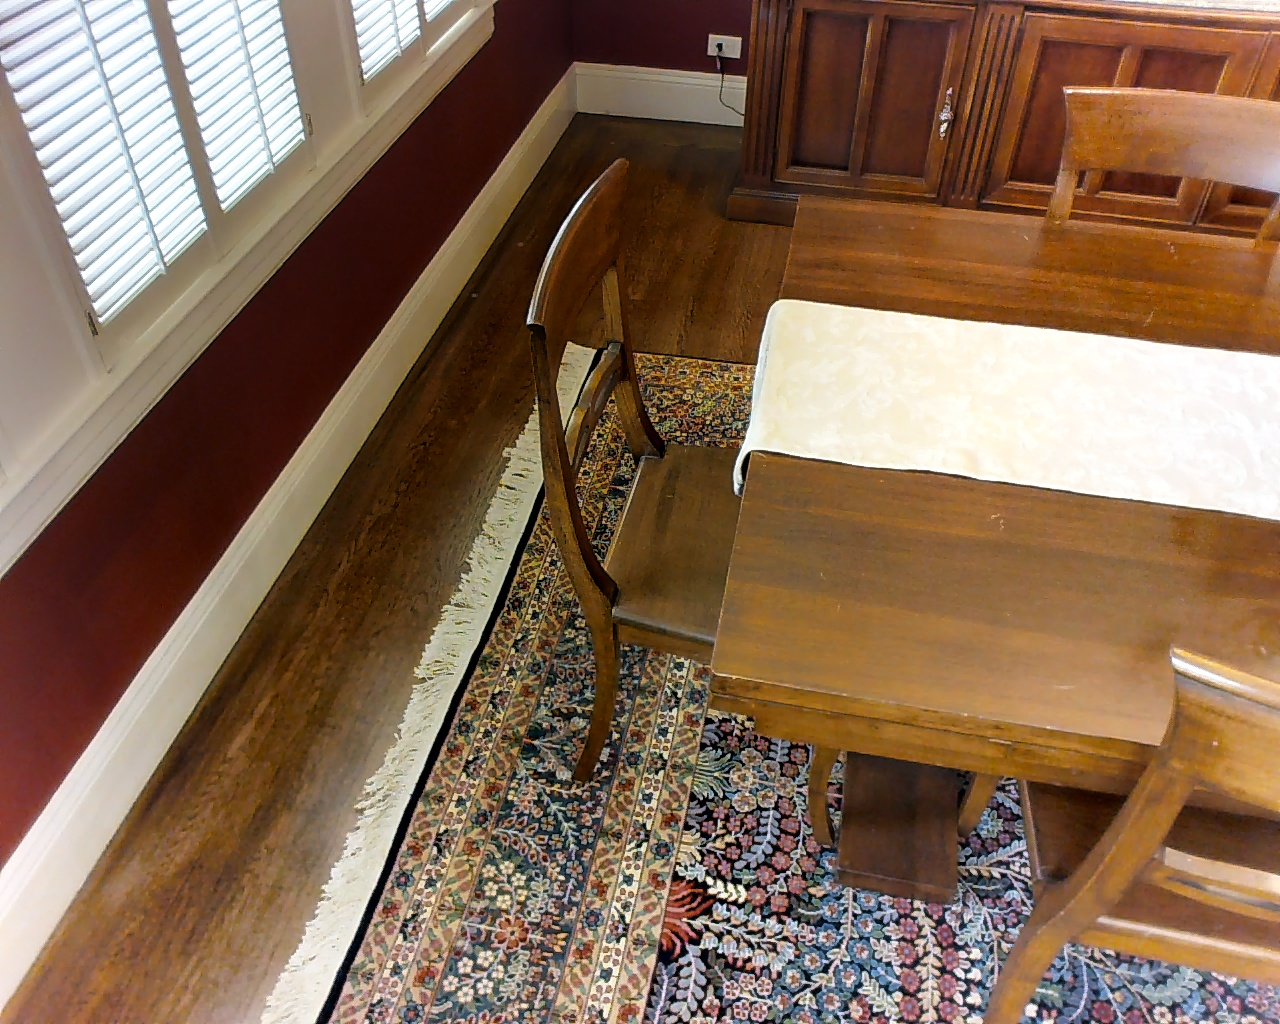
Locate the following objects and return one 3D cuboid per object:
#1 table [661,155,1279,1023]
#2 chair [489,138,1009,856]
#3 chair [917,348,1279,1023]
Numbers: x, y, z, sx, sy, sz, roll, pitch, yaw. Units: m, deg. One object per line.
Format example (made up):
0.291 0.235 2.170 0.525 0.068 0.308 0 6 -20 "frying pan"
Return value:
1.050 0.170 1.560 1.840 0.760 1.140 8 43 9 "table"
0.150 0.020 1.610 0.550 0.960 0.430 8 43 9 "chair"
0.660 0.350 1.240 0.510 0.910 0.460 8 43 9 "chair"
